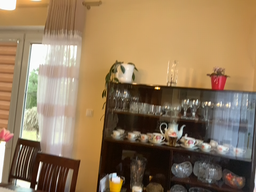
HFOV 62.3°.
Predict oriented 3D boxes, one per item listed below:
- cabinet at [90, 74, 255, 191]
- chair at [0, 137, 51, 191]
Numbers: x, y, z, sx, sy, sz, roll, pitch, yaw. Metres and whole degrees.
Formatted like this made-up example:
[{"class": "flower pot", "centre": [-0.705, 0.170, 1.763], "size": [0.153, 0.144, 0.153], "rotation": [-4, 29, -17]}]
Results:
[{"class": "cabinet", "centre": [0.380, 0.750, 1.880], "size": [1.310, 1.730, 0.480], "rotation": [6, -2, 14]}, {"class": "chair", "centre": [-1.260, 0.980, 2.210], "size": [0.480, 0.970, 0.600], "rotation": [5, -2, 20]}]
